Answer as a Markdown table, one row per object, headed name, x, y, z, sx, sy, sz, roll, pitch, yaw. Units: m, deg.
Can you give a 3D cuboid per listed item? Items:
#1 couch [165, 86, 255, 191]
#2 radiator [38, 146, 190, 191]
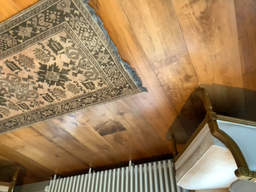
| name | x | y | z | sx | sy | sz | roll | pitch | yaw |
| --- | --- | --- | --- | --- | --- | --- | --- | --- | --- |
| couch | 0.740 | 0.560 | 1.390 | 0.720 | 0.940 | 0.700 | 8 | 139 | -7 |
| radiator | -0.230 | 0.940 | 2.210 | 1.670 | 0.510 | 0.170 | -15 | 137 | 19 |
